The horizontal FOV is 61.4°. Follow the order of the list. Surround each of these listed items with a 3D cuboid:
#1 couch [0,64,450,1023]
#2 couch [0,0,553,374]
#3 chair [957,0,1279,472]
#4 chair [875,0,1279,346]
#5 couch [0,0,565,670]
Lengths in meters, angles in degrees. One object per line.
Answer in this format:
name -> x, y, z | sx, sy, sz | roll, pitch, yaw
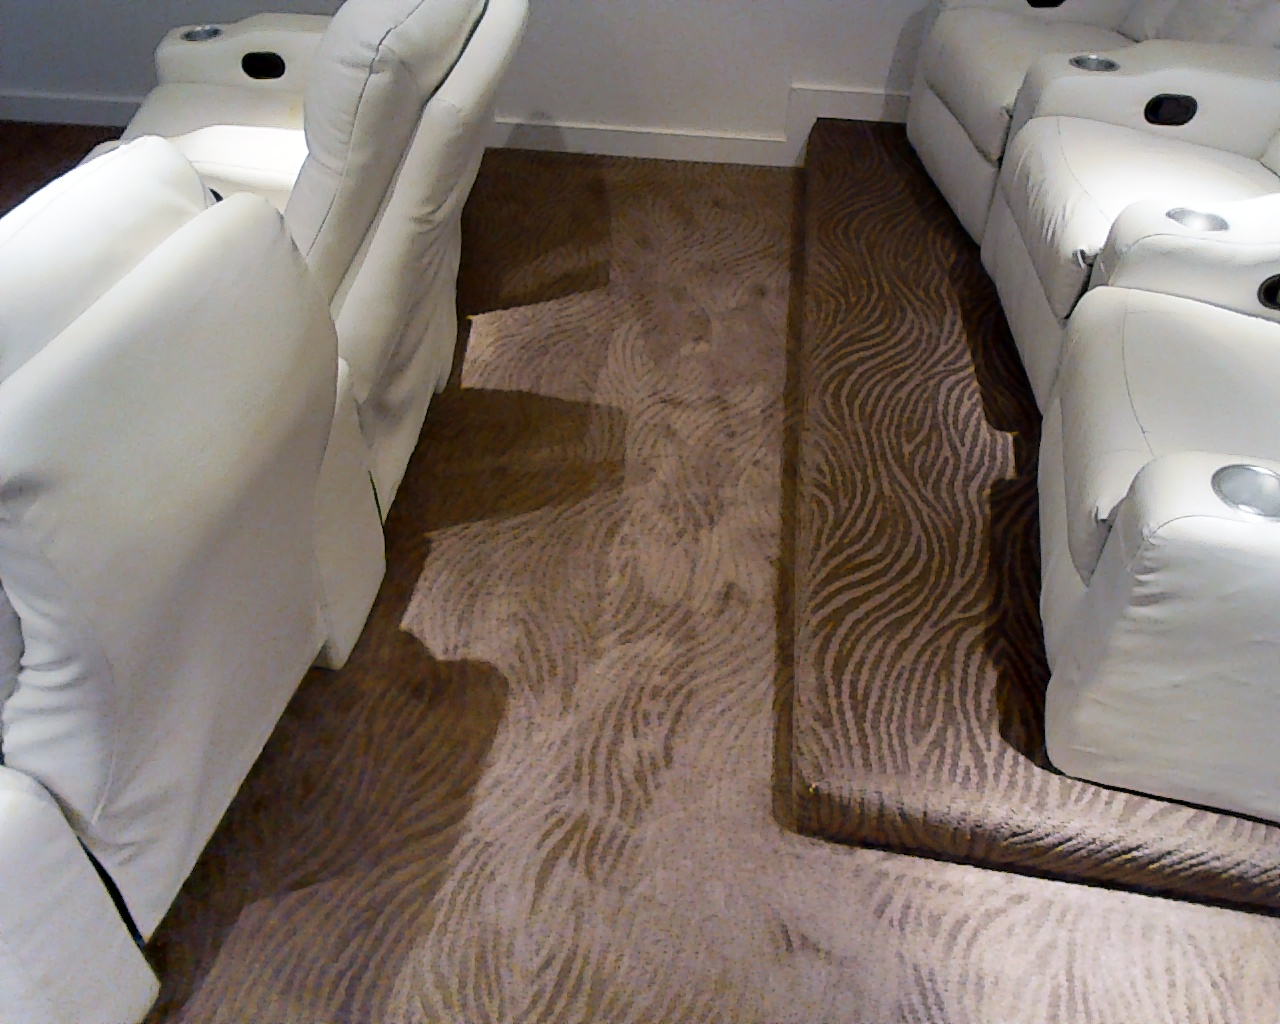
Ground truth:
couch -> -0.940, 0.090, 1.410 | 1.040, 1.050, 0.830 | 10, 43, 9
couch -> -0.810, -1.060, 2.670 | 1.090, 1.040, 0.890 | -4, 42, -6
chair -> 1.270, -0.720, 2.110 | 0.970, 1.060, 0.720 | 5, 42, 3
chair -> 1.300, -1.170, 2.750 | 1.030, 1.250, 0.700 | -3, 42, -6
couch -> -0.770, -0.440, 2.000 | 1.130, 1.040, 0.930 | 3, 42, 2
